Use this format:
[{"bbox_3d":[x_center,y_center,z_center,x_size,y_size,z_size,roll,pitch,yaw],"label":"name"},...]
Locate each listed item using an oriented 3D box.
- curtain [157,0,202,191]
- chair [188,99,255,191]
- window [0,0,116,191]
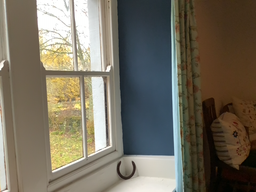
[{"bbox_3d":[0.360,0.000,1.430,0.160,1.570,0.320,0,4,33],"label":"curtain"},{"bbox_3d":[0.860,0.500,1.850,0.510,0.900,0.450,0,4,32],"label":"chair"},{"bbox_3d":[-0.530,-0.140,1.050,0.100,1.120,1.310,0,4,34],"label":"window"}]
